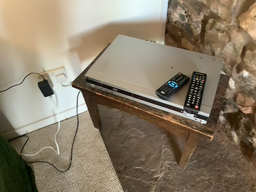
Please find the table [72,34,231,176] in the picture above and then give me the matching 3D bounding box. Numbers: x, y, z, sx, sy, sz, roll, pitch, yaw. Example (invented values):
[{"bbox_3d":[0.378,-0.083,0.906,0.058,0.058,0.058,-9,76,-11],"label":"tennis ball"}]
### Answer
[{"bbox_3d":[0.100,0.020,0.940,0.510,0.320,0.350,22,53,19],"label":"table"}]
